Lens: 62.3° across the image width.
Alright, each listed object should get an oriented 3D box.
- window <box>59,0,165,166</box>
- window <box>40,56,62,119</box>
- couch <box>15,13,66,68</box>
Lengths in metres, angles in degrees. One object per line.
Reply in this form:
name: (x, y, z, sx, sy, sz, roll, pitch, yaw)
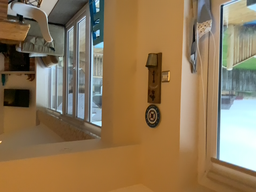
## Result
window: (-0.620, -0.560, 3.550, 0.250, 2.360, 3.450, 0, -178, -30)
window: (-2.040, -0.210, 5.530, 0.200, 1.390, 1.920, 0, -178, -30)
couch: (-2.230, -1.250, 5.260, 0.920, 0.900, 1.740, 0, -178, -30)
